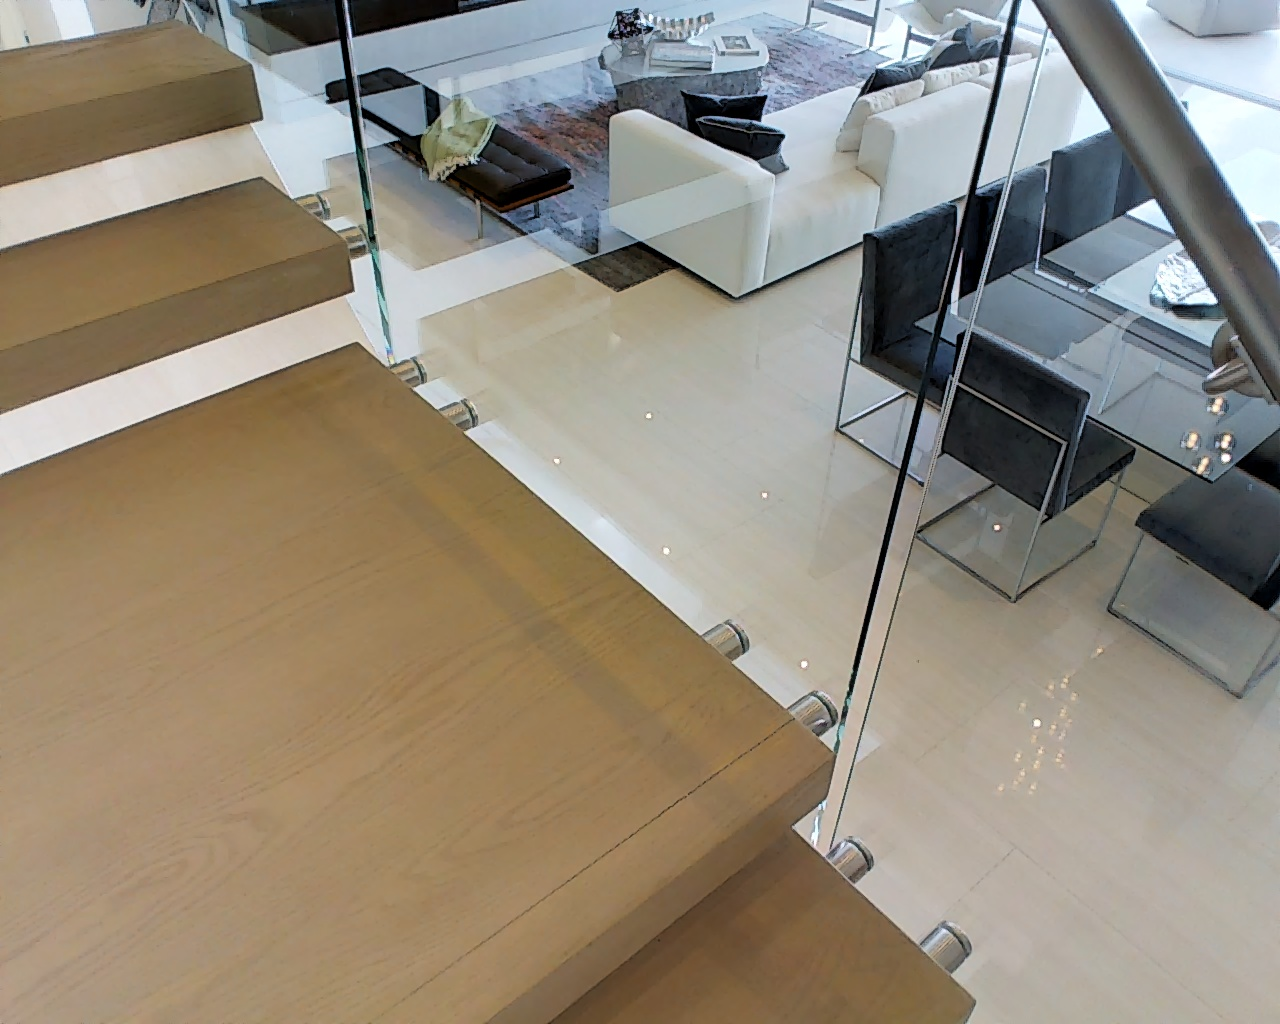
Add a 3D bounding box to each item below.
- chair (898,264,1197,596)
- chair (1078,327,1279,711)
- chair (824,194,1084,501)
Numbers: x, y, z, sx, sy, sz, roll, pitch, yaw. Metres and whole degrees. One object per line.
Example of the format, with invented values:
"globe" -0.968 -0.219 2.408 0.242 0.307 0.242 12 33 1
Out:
"chair" 1.480 -0.310 4.010 0.670 0.900 0.560 -28 49 -29
"chair" 2.110 0.020 3.690 0.560 0.960 0.710 -28 49 -29
"chair" 1.270 -0.690 4.500 0.580 0.950 0.650 -28 49 -29
